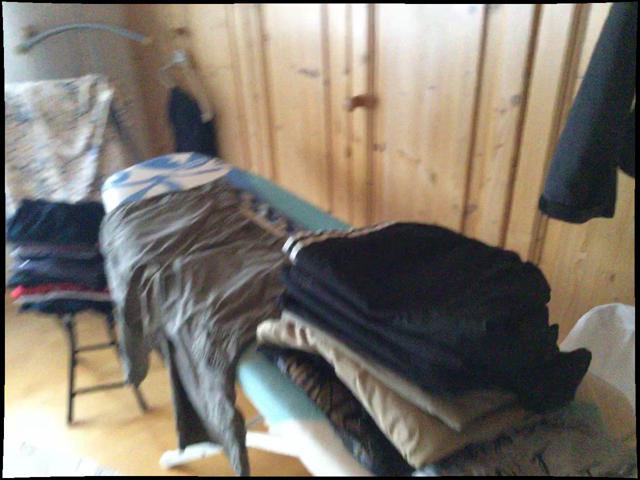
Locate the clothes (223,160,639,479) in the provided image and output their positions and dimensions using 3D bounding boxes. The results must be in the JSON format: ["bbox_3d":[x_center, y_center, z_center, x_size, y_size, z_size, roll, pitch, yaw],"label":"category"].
[{"bbox_3d":[0.170,0.120,0.780,0.390,0.200,0.480,-24,39,-28],"label":"clothes"}]
